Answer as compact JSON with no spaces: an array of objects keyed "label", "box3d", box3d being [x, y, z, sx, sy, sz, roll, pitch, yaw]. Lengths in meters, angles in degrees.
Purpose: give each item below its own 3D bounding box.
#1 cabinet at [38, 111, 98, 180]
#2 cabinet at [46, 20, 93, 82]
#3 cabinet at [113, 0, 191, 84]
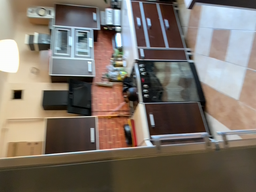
[{"label":"cabinet","box3d":[-0.700,0.580,2.550,0.330,0.610,0.720,115,152,-61]},{"label":"cabinet","box3d":[-0.890,-0.690,3.280,0.330,0.630,0.900,115,152,-61]},{"label":"cabinet","box3d":[0.290,-1.040,3.470,0.780,0.850,1.510,115,152,-61]}]
